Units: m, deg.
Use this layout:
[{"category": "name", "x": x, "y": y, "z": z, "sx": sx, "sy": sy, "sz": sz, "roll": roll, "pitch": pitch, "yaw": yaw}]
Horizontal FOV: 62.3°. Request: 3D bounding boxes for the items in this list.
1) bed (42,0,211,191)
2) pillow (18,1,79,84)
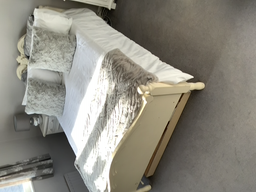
[{"category": "bed", "x": -0.350, "y": -0.040, "z": 2.620, "sx": 2.090, "sy": 0.680, "sz": 1.550, "roll": 48, "pitch": 129, "yaw": 40}, {"category": "pillow", "x": -1.000, "y": -0.640, "z": 2.550, "sx": 0.720, "sy": 0.440, "sz": 0.700, "roll": 47, "pitch": 128, "yaw": 41}]
